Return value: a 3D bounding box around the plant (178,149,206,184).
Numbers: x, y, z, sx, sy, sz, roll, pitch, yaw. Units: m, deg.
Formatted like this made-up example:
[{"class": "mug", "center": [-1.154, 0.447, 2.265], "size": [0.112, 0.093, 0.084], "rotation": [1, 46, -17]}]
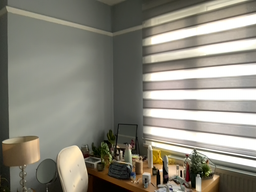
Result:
[{"class": "plant", "center": [0.520, 0.560, 1.720], "size": [0.170, 0.210, 0.140], "rotation": [1, 2, 43]}]
